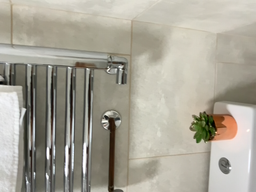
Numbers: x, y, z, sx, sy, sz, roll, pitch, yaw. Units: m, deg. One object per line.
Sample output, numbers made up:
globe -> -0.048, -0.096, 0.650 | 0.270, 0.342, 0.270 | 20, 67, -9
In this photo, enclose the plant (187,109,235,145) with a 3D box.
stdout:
plant -> 0.250, 0.090, 0.650 | 0.100, 0.090, 0.090 | -170, 81, -69
